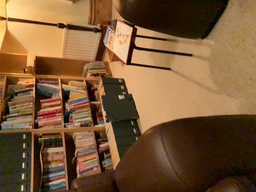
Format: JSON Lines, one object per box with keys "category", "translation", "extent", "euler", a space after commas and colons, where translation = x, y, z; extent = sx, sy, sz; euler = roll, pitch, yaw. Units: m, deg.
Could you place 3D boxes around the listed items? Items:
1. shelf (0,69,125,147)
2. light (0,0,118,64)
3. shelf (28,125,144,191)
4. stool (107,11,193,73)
{"category": "shelf", "translation": [-1.130, 0.110, 2.490], "extent": [0.310, 2.060, 0.860], "euler": [116, 146, -43]}
{"category": "light", "translation": [-1.080, -0.870, 2.670], "extent": [0.520, 1.750, 0.590], "euler": [-112, 33, -42]}
{"category": "shelf", "translation": [-0.460, 0.720, 2.210], "extent": [0.310, 1.040, 0.750], "euler": [116, 146, -43]}
{"category": "stool", "translation": [0.140, -0.400, 1.580], "extent": [0.370, 0.470, 0.280], "euler": [-121, 39, -50]}
